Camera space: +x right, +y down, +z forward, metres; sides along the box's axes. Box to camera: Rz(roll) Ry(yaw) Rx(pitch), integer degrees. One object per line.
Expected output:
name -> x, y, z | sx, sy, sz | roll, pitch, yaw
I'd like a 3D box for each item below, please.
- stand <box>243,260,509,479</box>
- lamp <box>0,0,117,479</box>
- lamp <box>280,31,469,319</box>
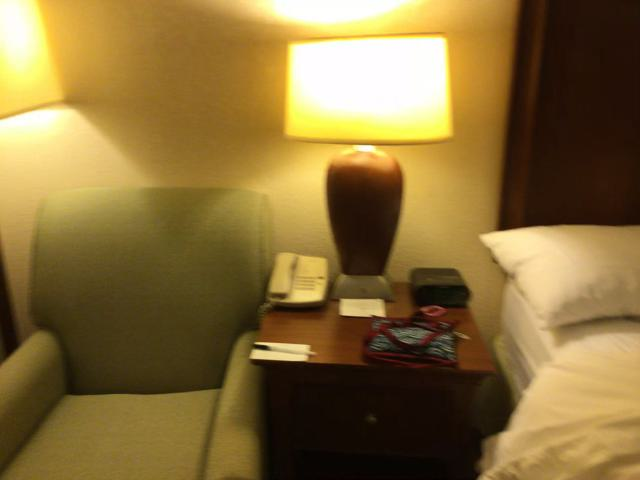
stand -> 0.120, 0.510, 1.570 | 0.550, 0.760, 0.520 | 2, 19, 2
lamp -> -0.950, 0.070, 1.680 | 0.420, 1.480, 0.410 | 2, 19, 2
lamp -> 0.120, -0.170, 1.510 | 0.420, 0.700, 0.240 | 2, 19, 2
